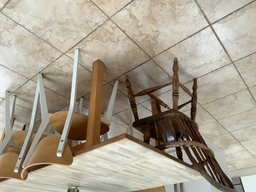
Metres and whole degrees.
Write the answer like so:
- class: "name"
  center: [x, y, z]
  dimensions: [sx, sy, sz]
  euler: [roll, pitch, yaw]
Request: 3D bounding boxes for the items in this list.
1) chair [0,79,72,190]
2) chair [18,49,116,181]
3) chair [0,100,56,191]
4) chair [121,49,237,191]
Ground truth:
- class: "chair"
  center: [-0.810, 0.330, 1.780]
  dimensions: [0.340, 0.750, 0.470]
  euler: [-24, 141, 30]
- class: "chair"
  center: [-0.370, 0.150, 1.520]
  dimensions: [0.340, 0.760, 0.480]
  euler: [-24, 141, 30]
- class: "chair"
  center: [-1.050, 0.490, 2.040]
  dimensions: [0.340, 0.710, 0.470]
  euler: [-24, 141, 30]
- class: "chair"
  center: [0.310, 0.240, 1.540]
  dimensions: [0.550, 0.910, 0.450]
  euler: [-24, 141, 30]
